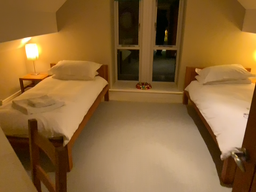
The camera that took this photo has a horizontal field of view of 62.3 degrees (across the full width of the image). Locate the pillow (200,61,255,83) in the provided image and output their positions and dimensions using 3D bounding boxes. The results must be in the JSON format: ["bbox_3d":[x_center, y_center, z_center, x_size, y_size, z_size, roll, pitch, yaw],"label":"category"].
[{"bbox_3d":[1.560,-0.390,3.370,0.680,0.230,0.420,1,21,2],"label":"pillow"}]

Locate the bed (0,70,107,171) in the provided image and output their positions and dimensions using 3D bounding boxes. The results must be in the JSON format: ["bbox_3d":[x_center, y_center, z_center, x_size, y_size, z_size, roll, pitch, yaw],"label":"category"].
[{"bbox_3d":[-1.040,0.140,3.060,1.110,0.540,2.030,2,21,4],"label":"bed"}]

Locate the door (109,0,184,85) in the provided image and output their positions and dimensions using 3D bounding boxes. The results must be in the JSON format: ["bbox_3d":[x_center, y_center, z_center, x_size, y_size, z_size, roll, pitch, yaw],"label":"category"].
[{"bbox_3d":[0.360,-1.670,4.230,1.440,2.980,0.120,1,21,2],"label":"door"}]

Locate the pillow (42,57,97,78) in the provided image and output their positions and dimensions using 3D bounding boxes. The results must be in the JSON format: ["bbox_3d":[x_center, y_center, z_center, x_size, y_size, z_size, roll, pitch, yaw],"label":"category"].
[{"bbox_3d":[-0.960,-0.490,3.580,0.790,0.260,0.380,2,21,5],"label":"pillow"}]
